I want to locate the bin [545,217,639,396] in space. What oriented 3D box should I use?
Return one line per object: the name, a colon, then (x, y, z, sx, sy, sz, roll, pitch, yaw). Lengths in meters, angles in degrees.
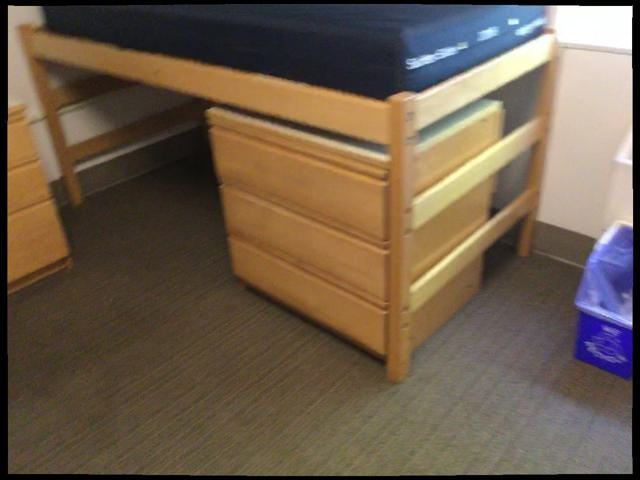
bin: (1.008, 0.200, 1.910, 0.290, 0.340, 0.430, 24, 42, 37)
